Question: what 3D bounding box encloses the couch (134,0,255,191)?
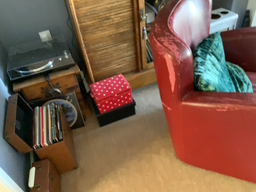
[{"bbox_3d":[0.570,-0.070,1.240,0.790,0.850,0.800,10,45,19],"label":"couch"}]
